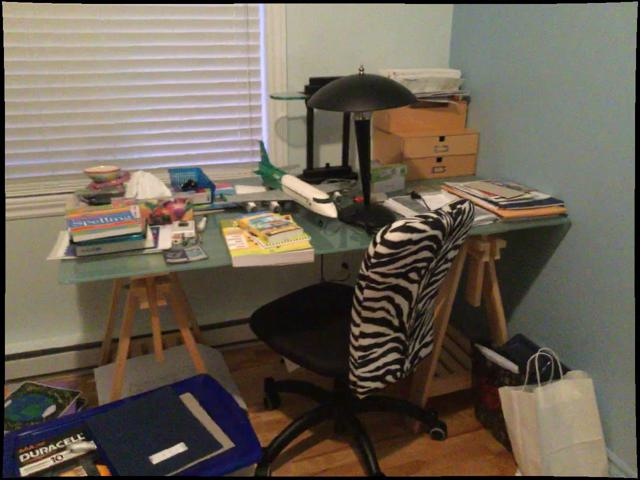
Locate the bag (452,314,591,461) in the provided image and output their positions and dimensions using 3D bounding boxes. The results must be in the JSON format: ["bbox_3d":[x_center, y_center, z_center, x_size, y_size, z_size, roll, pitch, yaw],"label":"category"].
[{"bbox_3d":[0.659,0.480,1.940,0.280,0.310,0.300,-8,24,-19],"label":"bag"}]

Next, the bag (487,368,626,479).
[{"bbox_3d":[0.729,0.581,1.810,0.250,0.300,0.230,-8,-11,-19],"label":"bag"}]
